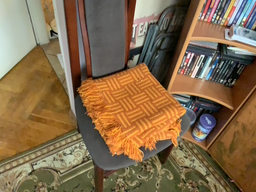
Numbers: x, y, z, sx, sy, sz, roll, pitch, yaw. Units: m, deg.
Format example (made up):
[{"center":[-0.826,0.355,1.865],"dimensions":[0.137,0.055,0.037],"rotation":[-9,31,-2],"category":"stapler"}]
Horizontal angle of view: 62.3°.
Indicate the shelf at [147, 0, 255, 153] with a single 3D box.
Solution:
[{"center":[0.420,-0.200,1.130],"dimensions":[0.360,1.100,0.450],"rotation":[16,48,6],"category":"shelf"}]
